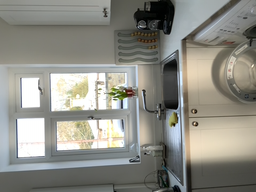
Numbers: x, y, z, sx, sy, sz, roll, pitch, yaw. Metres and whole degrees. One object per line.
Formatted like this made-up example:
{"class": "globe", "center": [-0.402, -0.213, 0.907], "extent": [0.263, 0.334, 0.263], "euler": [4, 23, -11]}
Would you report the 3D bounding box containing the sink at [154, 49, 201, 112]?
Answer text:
{"class": "sink", "center": [0.400, -0.110, 1.830], "extent": [0.530, 0.210, 0.460], "euler": [170, 99, -83]}
